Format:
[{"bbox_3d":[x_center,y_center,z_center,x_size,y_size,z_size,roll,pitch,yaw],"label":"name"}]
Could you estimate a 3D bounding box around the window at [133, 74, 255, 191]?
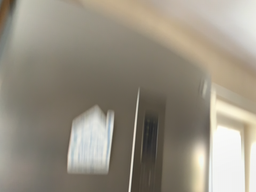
[{"bbox_3d":[0.820,0.710,2.030,1.720,1.380,0.250,16,-16,-34],"label":"window"}]
